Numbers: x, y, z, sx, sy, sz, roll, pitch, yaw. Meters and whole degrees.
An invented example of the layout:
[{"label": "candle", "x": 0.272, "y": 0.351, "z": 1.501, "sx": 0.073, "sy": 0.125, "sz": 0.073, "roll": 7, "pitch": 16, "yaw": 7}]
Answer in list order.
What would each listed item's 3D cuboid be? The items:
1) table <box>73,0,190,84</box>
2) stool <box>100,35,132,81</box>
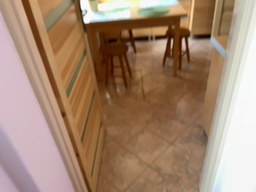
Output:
[{"label": "table", "x": 0.040, "y": -0.860, "z": 2.960, "sx": 1.260, "sy": 0.790, "sz": 1.130, "roll": -5, "pitch": 37, "yaw": 1}, {"label": "stool", "x": -0.150, "y": -0.490, "z": 2.760, "sx": 0.350, "sy": 0.460, "sz": 0.330, "roll": -6, "pitch": 37, "yaw": -1}]
